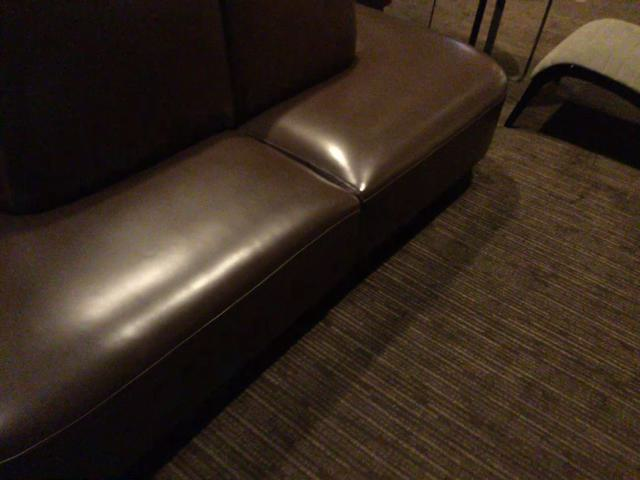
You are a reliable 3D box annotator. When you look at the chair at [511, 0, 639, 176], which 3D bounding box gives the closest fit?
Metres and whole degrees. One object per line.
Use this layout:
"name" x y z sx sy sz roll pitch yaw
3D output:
"chair" 1.340 -0.770 2.300 0.770 0.700 0.750 26 49 32
